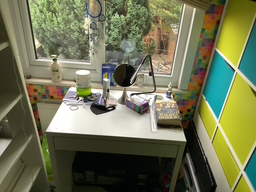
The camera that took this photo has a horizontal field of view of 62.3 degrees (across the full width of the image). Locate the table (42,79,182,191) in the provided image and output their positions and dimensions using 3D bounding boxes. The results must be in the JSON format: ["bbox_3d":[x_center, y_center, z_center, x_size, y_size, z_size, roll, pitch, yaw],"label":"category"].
[{"bbox_3d":[-0.100,0.380,1.560,0.730,0.790,0.590,3,30,-1],"label":"table"}]
